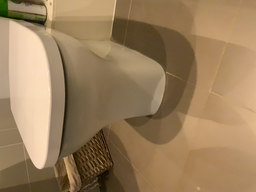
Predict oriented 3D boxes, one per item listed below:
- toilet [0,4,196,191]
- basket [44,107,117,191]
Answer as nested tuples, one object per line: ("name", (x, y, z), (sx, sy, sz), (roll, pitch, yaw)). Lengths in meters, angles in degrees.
("toilet", (-0.330, -0.070, 0.720), (0.640, 0.820, 0.380), (35, 121, 44))
("basket", (-0.270, 0.290, 1.160), (0.220, 0.240, 0.380), (-38, 66, 48))
